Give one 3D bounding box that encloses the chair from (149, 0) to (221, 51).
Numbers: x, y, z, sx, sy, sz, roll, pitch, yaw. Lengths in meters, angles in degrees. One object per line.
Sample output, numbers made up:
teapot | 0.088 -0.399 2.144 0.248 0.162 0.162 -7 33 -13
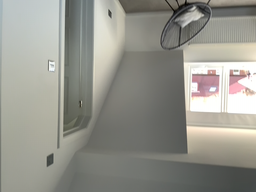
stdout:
chair | 0.840 -1.200 3.250 0.700 0.840 0.790 0 -178 -29
